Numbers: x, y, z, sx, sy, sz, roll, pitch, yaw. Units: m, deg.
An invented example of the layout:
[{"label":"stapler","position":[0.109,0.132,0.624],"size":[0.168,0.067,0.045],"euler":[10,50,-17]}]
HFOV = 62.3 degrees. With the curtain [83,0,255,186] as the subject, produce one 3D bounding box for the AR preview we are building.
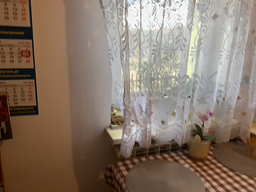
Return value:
[{"label":"curtain","position":[0.400,-0.470,1.120],"size":[1.230,1.770,0.220],"euler":[-3,17,-21]}]
